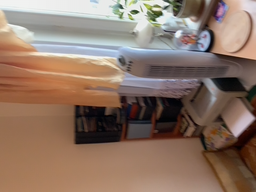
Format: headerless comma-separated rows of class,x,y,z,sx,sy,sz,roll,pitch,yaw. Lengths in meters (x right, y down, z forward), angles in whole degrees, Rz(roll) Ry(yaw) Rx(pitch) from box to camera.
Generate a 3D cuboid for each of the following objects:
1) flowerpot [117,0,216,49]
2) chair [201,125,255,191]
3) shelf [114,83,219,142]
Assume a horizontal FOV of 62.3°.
flowerpot,0.210,-0.510,1.260,0.230,0.470,0.360,-108,24,-47
chair,0.960,0.480,1.550,0.400,0.620,0.350,-106,23,-44
shelf,0.290,0.130,1.780,0.330,0.730,0.340,-106,23,-44
